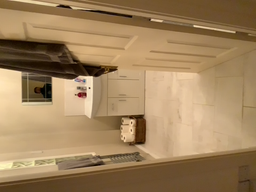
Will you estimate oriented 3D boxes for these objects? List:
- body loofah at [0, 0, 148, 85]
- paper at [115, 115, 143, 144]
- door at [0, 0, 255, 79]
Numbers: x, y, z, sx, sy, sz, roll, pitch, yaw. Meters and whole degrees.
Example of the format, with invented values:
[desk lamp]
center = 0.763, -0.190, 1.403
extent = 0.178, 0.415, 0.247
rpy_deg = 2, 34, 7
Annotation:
[body loofah]
center = -0.570, -0.340, 1.540
extent = 0.610, 1.260, 0.370
rpy_deg = 154, 114, -66
[paper]
center = 0.010, 0.520, 3.370
extent = 0.360, 0.340, 0.380
rpy_deg = -175, 85, -68
[door]
center = -0.150, -0.340, 1.500
extent = 0.850, 1.960, 0.190
rpy_deg = 157, 112, -67
